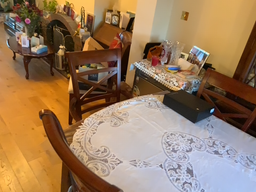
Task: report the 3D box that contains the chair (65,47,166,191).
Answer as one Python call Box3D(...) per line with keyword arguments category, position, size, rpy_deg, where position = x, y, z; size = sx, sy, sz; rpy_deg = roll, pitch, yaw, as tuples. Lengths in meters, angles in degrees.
Box3D(category="chair", position=(-0.180, 0.180, 1.820), size=(0.500, 1.010, 0.610), rpy_deg=(-14, 37, -35))
